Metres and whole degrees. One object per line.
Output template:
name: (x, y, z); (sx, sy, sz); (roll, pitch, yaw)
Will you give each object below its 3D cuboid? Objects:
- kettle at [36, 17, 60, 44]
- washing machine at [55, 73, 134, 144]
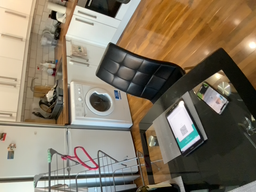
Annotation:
kettle: (-1.430, -1.170, 3.790); (0.240, 0.330, 0.300); (-33, 54, 53)
washing machine: (-0.520, 0.230, 3.080); (0.710, 0.880, 0.660); (-49, 42, 43)
